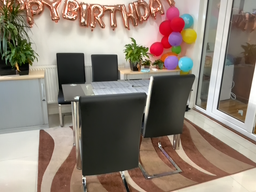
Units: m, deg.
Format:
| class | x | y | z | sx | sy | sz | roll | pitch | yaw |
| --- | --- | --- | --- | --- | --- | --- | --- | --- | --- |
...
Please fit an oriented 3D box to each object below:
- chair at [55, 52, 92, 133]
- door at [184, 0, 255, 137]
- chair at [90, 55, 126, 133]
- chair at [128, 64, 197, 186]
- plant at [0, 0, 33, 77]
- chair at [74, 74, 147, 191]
| class | x | y | z | sx | sy | sz | roll | pitch | yaw |
| --- | --- | --- | --- | --- | --- | --- | --- | --- | --- |
| chair | -0.820 | -0.090 | 3.170 | 0.420 | 1.040 | 0.660 | -5 | 19 | -18 |
| door | 1.410 | -0.750 | 3.170 | 0.070 | 2.300 | 1.440 | -6 | 19 | -20 |
| chair | -0.320 | -0.070 | 3.180 | 0.420 | 1.010 | 0.660 | -3 | 18 | -13 |
| chair | 0.290 | 0.250 | 2.160 | 0.420 | 1.050 | 0.560 | -5 | 19 | -17 |
| plant | -1.540 | -0.820 | 2.730 | 0.430 | 1.070 | 0.450 | -4 | 19 | -17 |
| chair | -0.170 | 0.410 | 1.650 | 0.400 | 1.040 | 0.590 | -4 | 19 | -16 |
